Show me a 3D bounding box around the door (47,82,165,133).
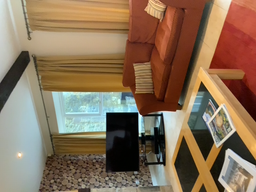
[{"bbox_3d":[-0.480,0.300,4.980,0.160,2.500,1.390,-100,12,-52],"label":"door"}]
